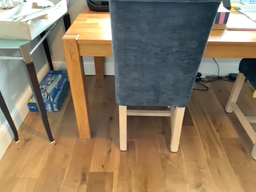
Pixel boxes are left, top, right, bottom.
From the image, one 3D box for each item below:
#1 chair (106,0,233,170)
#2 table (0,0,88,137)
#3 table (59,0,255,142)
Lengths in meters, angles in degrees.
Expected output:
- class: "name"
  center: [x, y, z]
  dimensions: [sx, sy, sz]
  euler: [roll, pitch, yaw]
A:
- class: "chair"
  center: [0.140, -0.170, 1.250]
  dimensions: [0.440, 1.090, 0.630]
  euler: [1, 37, 0]
- class: "table"
  center: [-0.630, -0.290, 1.670]
  dimensions: [0.400, 0.760, 0.930]
  euler: [1, 37, 1]
- class: "table"
  center: [0.540, -0.260, 1.680]
  dimensions: [1.780, 0.750, 0.930]
  euler: [1, 37, 1]
